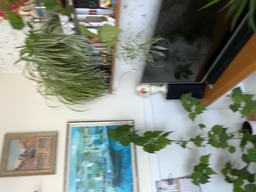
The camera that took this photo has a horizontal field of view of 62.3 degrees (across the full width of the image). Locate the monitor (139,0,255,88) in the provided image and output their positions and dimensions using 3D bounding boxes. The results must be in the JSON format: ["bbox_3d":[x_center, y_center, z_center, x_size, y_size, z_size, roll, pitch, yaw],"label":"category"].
[{"bbox_3d":[0.500,-0.390,1.650,1.090,0.680,0.040,101,162,-59],"label":"monitor"}]
